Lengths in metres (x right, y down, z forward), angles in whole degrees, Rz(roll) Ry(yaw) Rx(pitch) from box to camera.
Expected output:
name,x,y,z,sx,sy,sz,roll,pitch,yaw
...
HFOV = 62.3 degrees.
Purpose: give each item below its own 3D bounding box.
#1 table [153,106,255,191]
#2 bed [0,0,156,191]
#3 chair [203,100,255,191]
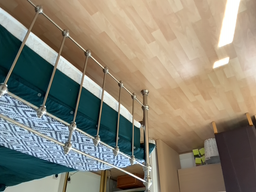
name,x,y,z,sx,sy,sz,roll,pitch,yaw
table,1.030,0.790,2.520,1.250,0.820,0.660,-20,140,28
bed,-1.130,0.190,1.700,2.130,0.650,1.660,-19,141,27
chair,1.150,0.670,2.130,0.420,1.080,0.520,-22,140,29
